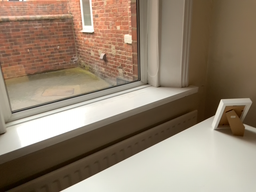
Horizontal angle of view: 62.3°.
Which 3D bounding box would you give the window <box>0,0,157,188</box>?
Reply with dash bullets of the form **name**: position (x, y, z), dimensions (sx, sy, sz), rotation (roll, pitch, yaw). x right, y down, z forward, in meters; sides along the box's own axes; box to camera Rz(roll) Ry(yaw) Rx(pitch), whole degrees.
- **window**: position (-0.230, -0.670, 0.990), dimensions (0.880, 2.130, 0.170), rotation (-18, 26, -36)
